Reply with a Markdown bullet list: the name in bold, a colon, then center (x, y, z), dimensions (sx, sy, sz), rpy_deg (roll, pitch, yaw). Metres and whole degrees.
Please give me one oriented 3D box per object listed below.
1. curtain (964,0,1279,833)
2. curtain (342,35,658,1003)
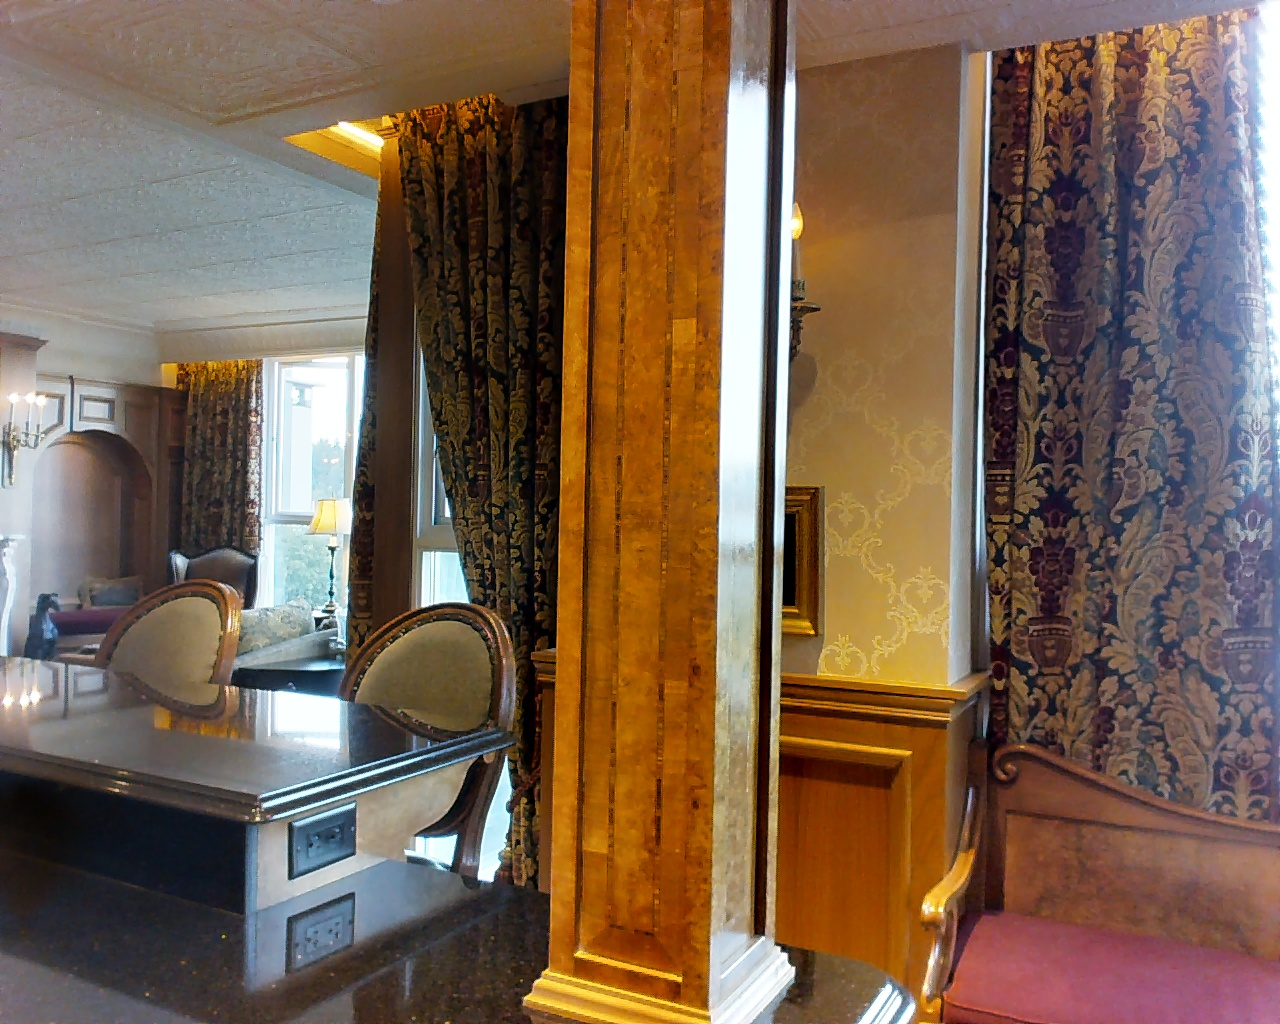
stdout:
- **curtain**: center (1.060, -0.290, 2.360), dimensions (0.620, 1.860, 0.140), rpy_deg (1, 0, 27)
- **curtain**: center (-0.420, 0.010, 3.100), dimensions (0.900, 2.531, 0.190), rpy_deg (1, 0, 27)
